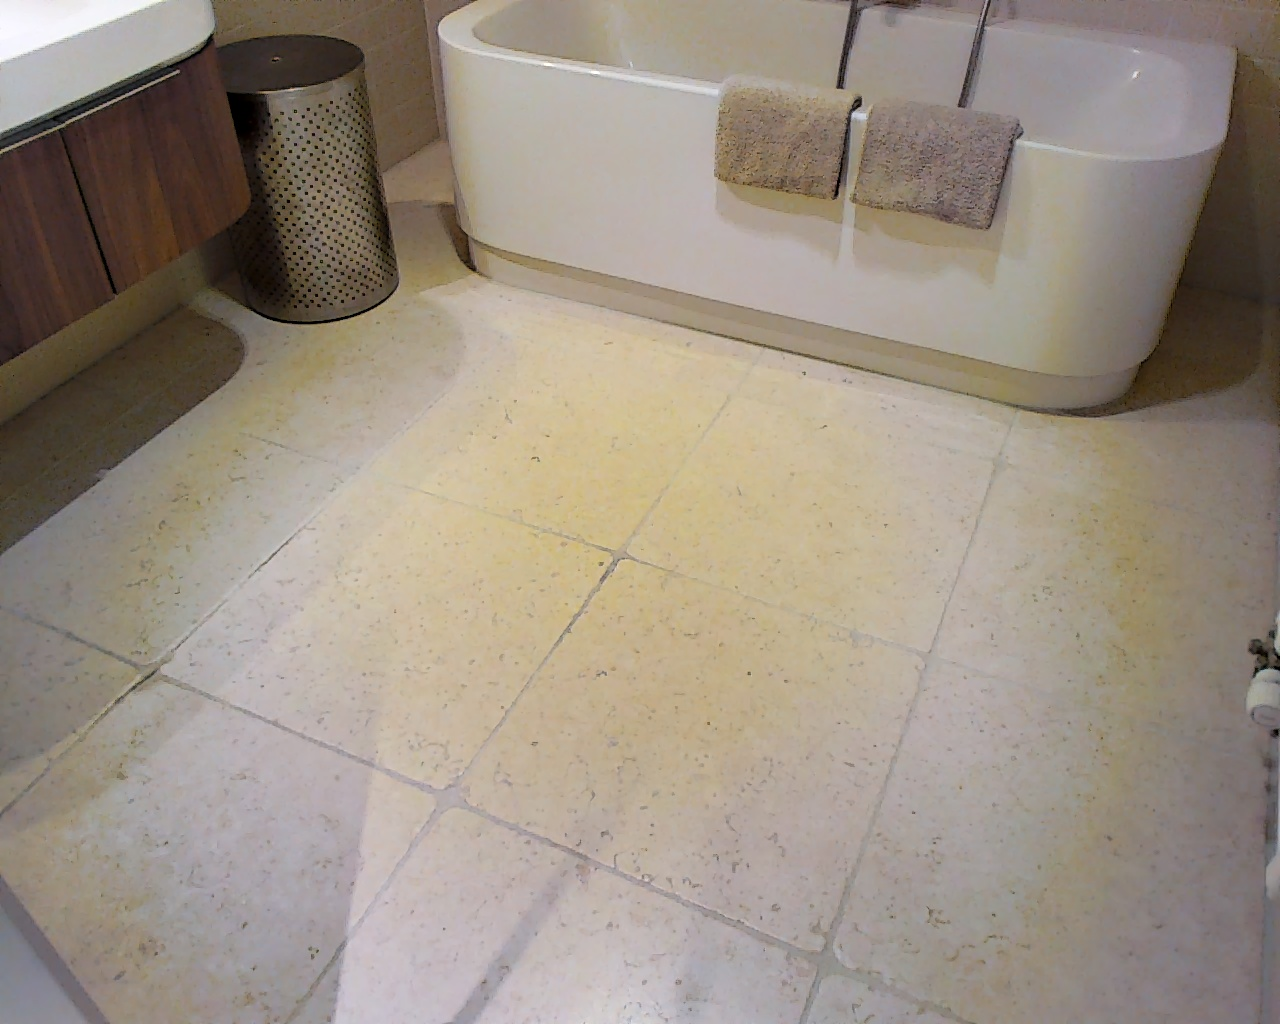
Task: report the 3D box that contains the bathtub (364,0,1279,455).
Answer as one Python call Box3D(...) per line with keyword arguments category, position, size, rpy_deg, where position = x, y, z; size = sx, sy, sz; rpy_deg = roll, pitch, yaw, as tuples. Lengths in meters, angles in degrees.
Box3D(category="bathtub", position=(0.410, -0.880, 2.690), size=(1.930, 0.630, 0.850), rpy_deg=(17, 44, 19))

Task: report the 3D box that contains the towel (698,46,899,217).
Box3D(category="towel", position=(0.340, -0.830, 2.330), size=(0.350, 0.230, 0.250), rpy_deg=(17, 44, 19))

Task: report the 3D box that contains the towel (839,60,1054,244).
Box3D(category="towel", position=(0.630, -0.750, 2.220), size=(0.340, 0.230, 0.270), rpy_deg=(17, 44, 19))
